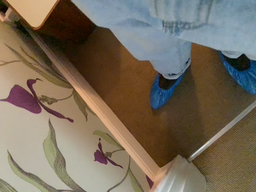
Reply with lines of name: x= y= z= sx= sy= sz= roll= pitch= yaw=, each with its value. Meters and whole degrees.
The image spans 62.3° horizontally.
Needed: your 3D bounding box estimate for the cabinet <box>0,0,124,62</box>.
cabinet: x=-0.410 y=-0.550 z=1.090 sx=0.430 sy=0.390 sz=0.550 roll=-44 pitch=76 yaw=15
